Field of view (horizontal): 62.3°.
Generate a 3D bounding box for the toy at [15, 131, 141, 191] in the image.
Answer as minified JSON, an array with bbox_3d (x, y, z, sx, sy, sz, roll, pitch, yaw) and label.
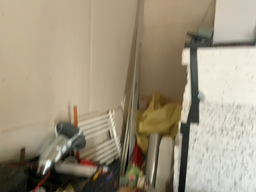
[{"bbox_3d":[-0.310,0.440,1.420,0.640,0.200,0.510,5,7,27],"label":"toy"}]
